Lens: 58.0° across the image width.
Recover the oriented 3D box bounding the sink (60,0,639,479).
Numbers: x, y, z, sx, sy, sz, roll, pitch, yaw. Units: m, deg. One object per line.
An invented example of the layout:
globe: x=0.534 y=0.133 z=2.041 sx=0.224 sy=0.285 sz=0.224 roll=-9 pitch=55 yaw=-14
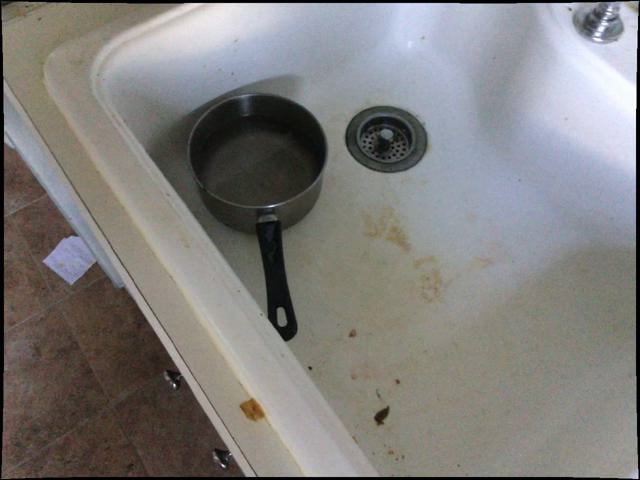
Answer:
sink: x=0.130 y=-0.050 z=0.670 sx=0.560 sy=0.230 sz=0.560 roll=-34 pitch=71 yaw=-18
